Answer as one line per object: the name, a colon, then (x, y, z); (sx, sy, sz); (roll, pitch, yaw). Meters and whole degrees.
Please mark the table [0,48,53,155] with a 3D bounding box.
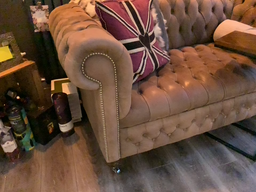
table: (-0.830, 0.020, 1.420); (0.310, 0.510, 0.430); (19, 38, 27)
